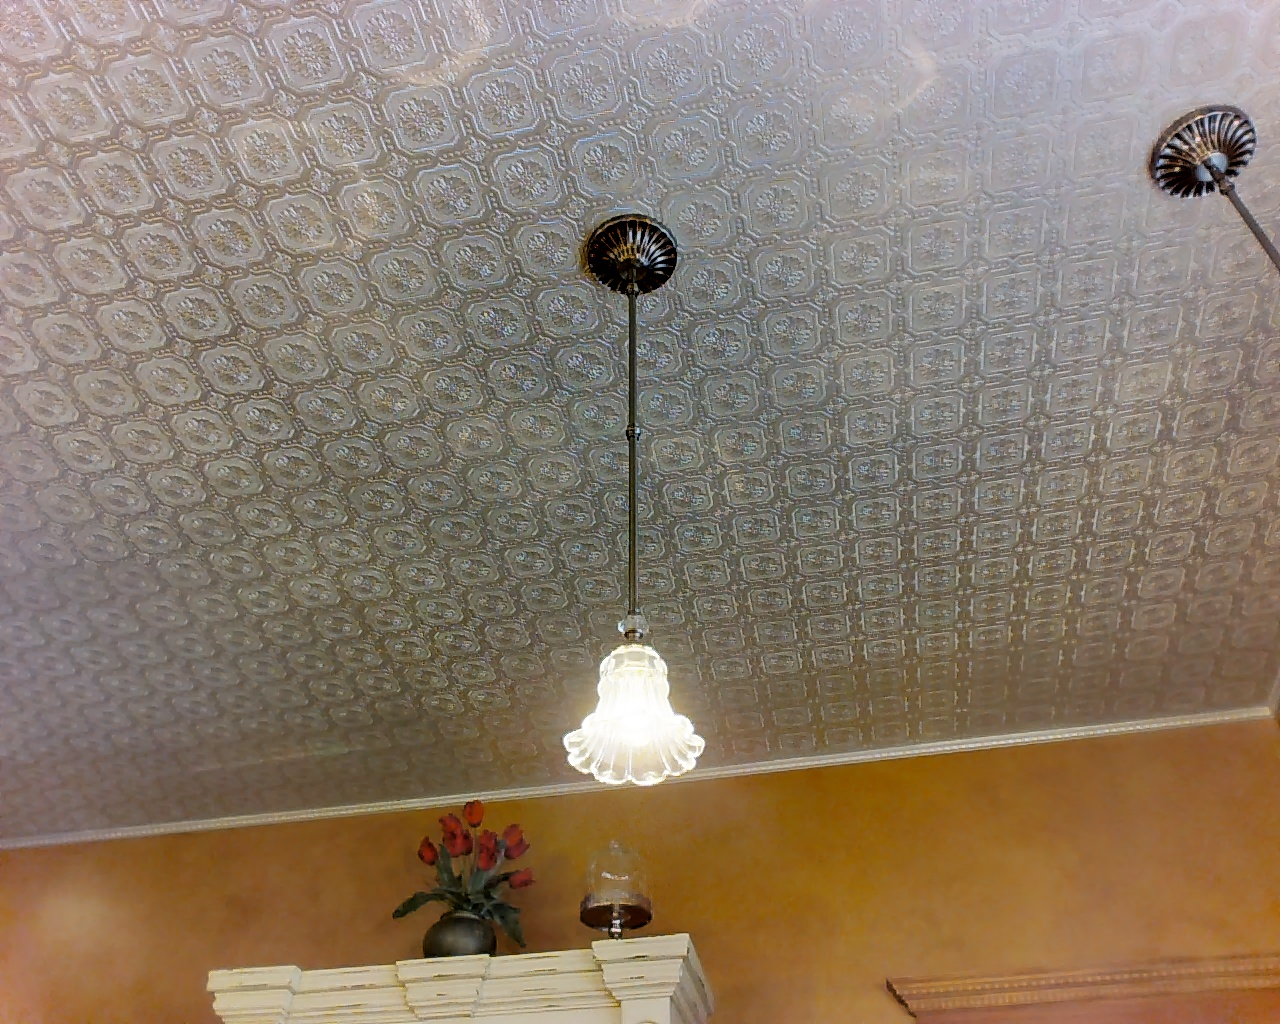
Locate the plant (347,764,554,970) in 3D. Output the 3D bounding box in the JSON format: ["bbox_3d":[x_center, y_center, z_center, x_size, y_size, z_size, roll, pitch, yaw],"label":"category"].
[{"bbox_3d":[-0.480,0.950,2.860,0.390,0.340,0.450,-7,-43,7],"label":"plant"}]
